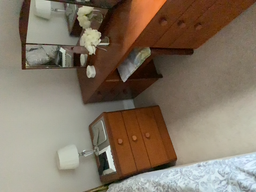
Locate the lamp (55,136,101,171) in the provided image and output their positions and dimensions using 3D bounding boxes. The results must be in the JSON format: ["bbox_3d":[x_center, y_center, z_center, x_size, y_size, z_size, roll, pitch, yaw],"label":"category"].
[{"bbox_3d":[-0.460,0.520,1.940,0.190,0.340,0.210,-43,59,53],"label":"lamp"}]

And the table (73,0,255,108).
[{"bbox_3d":[0.080,-0.460,1.820,1.640,0.630,0.520,-41,60,54],"label":"table"}]
